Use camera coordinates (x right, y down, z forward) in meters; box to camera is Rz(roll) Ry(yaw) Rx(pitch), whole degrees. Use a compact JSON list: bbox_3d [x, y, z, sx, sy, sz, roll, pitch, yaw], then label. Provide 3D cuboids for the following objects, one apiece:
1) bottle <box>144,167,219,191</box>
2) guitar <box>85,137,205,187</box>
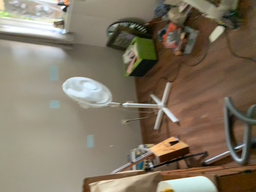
[{"bbox_3d":[0.230,0.450,0.910,0.210,0.230,0.250,143,125,-62],"label":"bottle"},{"bbox_3d":[0.150,0.600,2.010,0.310,1.070,0.150,167,93,-80],"label":"guitar"}]
